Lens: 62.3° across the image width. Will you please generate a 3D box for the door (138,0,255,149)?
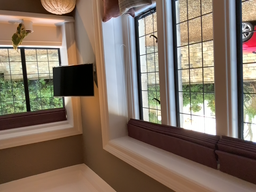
[{"bbox_3d":[0.880,-0.310,1.770,0.070,1.440,2.540,-7,-173,-31],"label":"door"}]
